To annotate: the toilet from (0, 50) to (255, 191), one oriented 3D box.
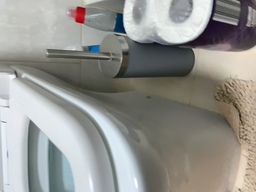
[{"bbox_3d":[-0.200,0.130,0.430,0.630,0.810,0.410,19,109,50],"label":"toilet"}]
